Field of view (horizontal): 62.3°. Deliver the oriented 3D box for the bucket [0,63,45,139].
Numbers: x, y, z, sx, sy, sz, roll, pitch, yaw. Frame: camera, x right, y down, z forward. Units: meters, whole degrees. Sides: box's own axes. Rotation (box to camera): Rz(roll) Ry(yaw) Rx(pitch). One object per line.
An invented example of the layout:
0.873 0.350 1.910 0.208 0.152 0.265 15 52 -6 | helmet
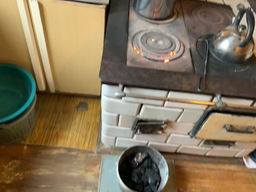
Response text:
-0.840 0.030 1.420 0.400 0.360 0.330 9 51 -3 | bucket
